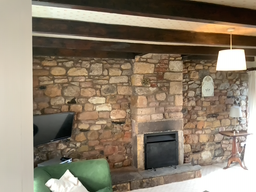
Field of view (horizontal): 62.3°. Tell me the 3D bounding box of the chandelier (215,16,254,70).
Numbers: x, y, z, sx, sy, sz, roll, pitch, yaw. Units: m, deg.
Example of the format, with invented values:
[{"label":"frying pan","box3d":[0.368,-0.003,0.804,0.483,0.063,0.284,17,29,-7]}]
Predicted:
[{"label":"chandelier","box3d":[1.110,-0.530,2.220,0.290,0.480,0.250,-2,-177,-33]}]
